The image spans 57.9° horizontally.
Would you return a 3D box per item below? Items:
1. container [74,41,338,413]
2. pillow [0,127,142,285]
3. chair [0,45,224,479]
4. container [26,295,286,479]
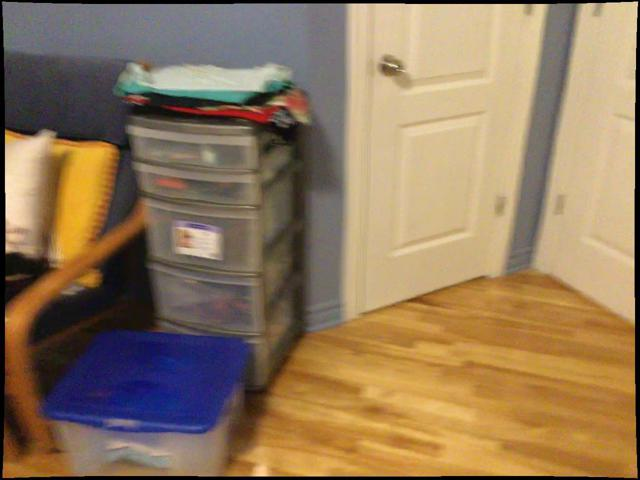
[{"bbox_3d":[-0.270,-0.050,1.750,0.500,0.971,0.450,8,30,19],"label":"container"},{"bbox_3d":[-0.859,-0.120,1.790,0.440,0.350,0.300,8,30,19],"label":"pillow"},{"bbox_3d":[-0.939,-0.030,1.790,0.839,0.931,0.890,8,30,19],"label":"chair"},{"bbox_3d":[-0.420,0.430,1.610,0.490,0.280,0.450,8,30,19],"label":"container"}]
